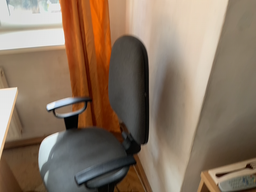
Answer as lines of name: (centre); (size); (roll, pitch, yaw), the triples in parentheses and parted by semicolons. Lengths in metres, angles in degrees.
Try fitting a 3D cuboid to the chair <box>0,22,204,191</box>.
chair: (-0.190, 0.300, 1.120); (0.640, 1.140, 0.620); (-14, 37, -23)
